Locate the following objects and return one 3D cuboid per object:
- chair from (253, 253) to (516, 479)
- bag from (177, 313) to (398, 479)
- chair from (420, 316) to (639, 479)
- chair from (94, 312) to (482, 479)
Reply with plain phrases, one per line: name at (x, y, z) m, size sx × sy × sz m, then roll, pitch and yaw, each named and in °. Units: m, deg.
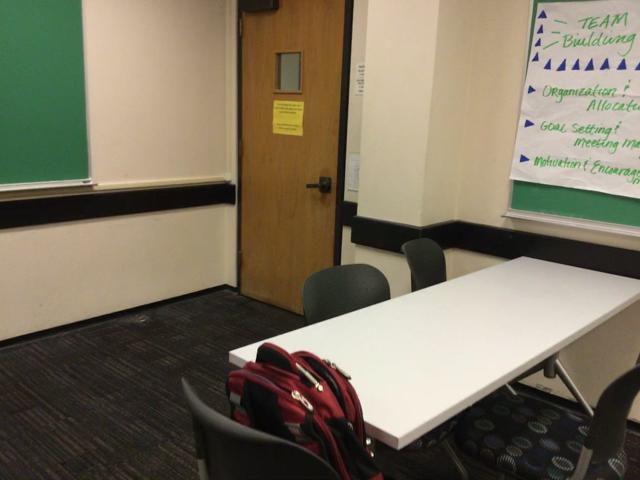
chair at (0.210, 0.520, 2.030) m, size 0.640 × 0.790 × 0.620 m, roll -8°, pitch 14°, yaw -43°
bag at (-0.080, 0.380, 1.260) m, size 0.290 × 0.330 × 0.410 m, roll -6°, pitch 8°, yaw -39°
chair at (0.710, 0.680, 1.810) m, size 0.590 × 0.750 × 0.530 m, roll -4°, pitch 4°, yaw -43°
chair at (-0.060, 0.680, 1.480) m, size 0.660 × 0.760 × 0.680 m, roll -13°, pitch 12°, yaw -43°
